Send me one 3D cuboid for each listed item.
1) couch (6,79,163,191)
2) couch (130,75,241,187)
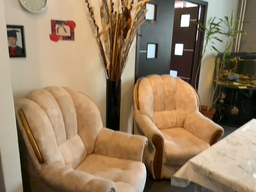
[{"bbox_3d":[-0.280,0.450,1.770,0.870,0.990,0.840,8,16,22],"label":"couch"},{"bbox_3d":[0.560,0.300,2.500,0.800,0.950,0.940,-2,15,-15],"label":"couch"}]
